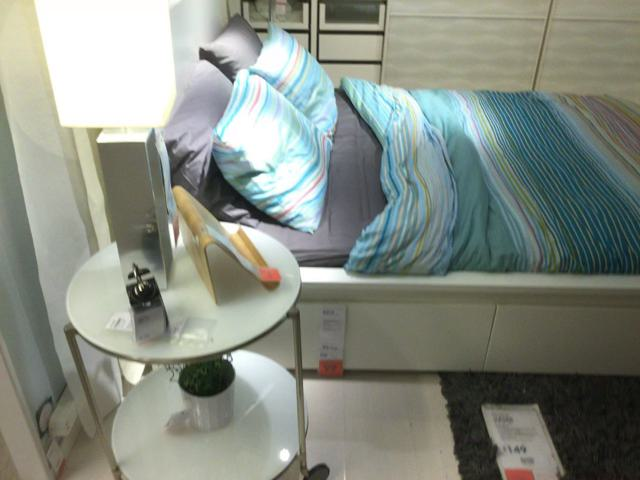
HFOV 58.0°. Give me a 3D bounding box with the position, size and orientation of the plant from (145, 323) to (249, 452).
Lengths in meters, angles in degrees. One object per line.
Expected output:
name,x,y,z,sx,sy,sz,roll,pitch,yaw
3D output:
plant,-0.290,0.360,1.420,0.170,0.240,0.190,0,32,6

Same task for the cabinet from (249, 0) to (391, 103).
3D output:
cabinet,-0.010,-2.100,3.500,0.860,2.360,0.670,-1,32,5
